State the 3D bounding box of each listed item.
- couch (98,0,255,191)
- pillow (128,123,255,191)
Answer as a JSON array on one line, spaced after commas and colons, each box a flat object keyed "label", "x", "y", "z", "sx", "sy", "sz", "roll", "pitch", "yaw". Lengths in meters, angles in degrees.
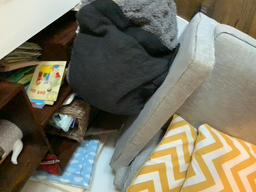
[{"label": "couch", "x": 0.450, "y": 0.160, "z": 1.080, "sx": 0.800, "sy": 0.670, "sz": 0.870, "roll": 27, "pitch": 133, "yaw": -4}, {"label": "pillow", "x": 0.350, "y": 0.390, "z": 0.930, "sx": 0.660, "sy": 0.520, "sz": 0.190, "roll": 1, "pitch": 169, "yaw": -14}]
